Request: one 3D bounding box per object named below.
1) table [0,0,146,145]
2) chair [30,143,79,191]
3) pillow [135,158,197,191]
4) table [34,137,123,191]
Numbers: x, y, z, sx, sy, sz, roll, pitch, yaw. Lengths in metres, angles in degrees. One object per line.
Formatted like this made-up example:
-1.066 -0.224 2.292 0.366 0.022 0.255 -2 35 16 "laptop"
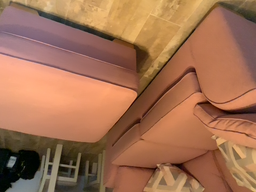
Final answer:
-0.440 -0.080 1.400 0.810 0.450 0.810 14 144 -19 "table"
-1.040 1.210 2.920 0.510 0.950 0.410 16 144 -22 "chair"
0.360 0.870 1.950 0.500 0.480 0.280 -7 180 11 "pillow"
-0.750 1.210 3.100 1.030 0.750 0.990 14 144 -20 "table"
